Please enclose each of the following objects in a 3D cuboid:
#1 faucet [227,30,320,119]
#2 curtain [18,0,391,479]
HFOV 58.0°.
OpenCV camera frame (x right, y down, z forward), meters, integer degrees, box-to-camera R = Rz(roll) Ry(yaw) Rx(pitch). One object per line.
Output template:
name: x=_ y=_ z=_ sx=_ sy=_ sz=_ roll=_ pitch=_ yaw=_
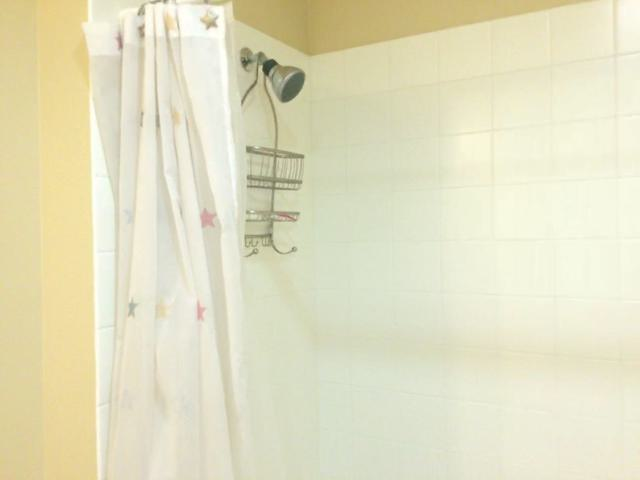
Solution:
faucet: x=-0.120 y=-0.430 z=1.530 sx=0.170 sy=0.160 sz=0.180 roll=-3 pitch=-2 yaw=30
curtain: x=-0.170 y=0.490 z=1.150 sx=0.410 sy=1.920 sz=0.610 roll=-3 pitch=-2 yaw=30
